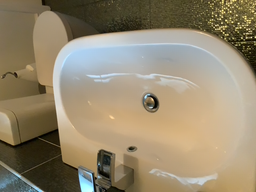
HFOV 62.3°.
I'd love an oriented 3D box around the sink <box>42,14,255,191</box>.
[{"bbox_3d":[0.030,0.040,0.640,0.660,0.170,0.450,7,106,37],"label":"sink"}]
